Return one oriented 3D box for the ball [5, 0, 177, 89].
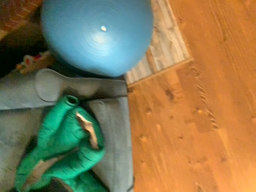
[{"bbox_3d":[-0.170,-0.370,1.090,0.620,0.530,0.570,-10,88,28],"label":"ball"}]
